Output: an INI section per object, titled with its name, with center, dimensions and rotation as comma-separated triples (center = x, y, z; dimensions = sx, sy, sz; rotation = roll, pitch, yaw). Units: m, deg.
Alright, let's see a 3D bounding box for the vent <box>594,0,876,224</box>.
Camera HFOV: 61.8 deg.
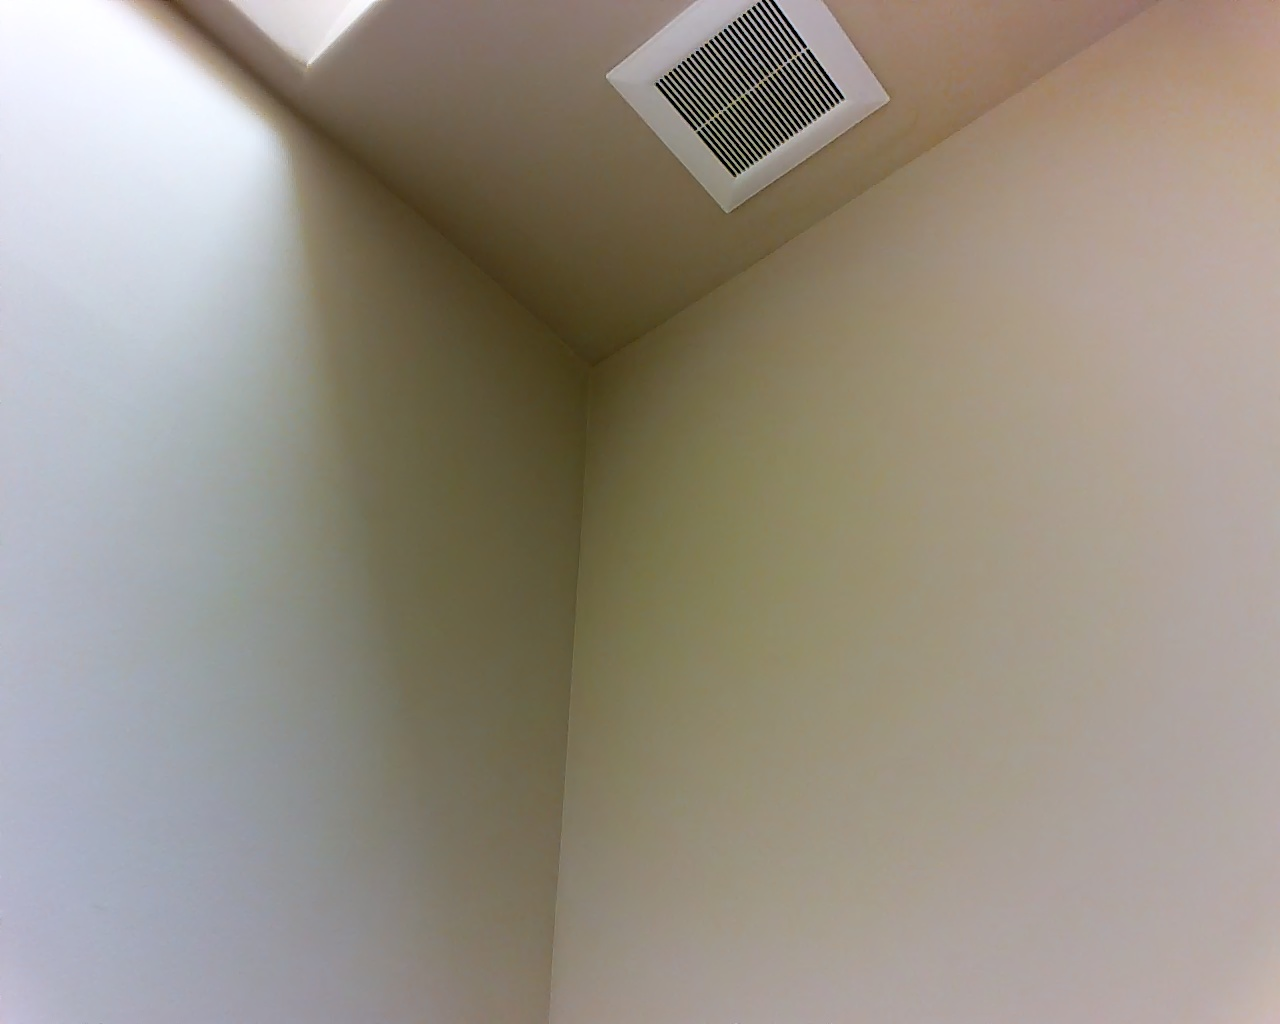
[vent]
center = 0.150, -0.650, 1.670
dimensions = 0.310, 0.030, 0.320
rotation = -28, -49, 28
